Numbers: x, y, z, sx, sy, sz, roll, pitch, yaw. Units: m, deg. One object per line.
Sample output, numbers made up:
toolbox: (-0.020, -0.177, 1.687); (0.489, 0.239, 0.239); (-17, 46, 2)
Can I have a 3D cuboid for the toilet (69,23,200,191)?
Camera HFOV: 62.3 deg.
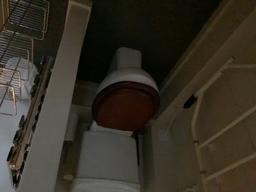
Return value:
toilet: (-0.040, 0.130, 1.340); (0.460, 0.780, 0.720); (11, 141, -16)
